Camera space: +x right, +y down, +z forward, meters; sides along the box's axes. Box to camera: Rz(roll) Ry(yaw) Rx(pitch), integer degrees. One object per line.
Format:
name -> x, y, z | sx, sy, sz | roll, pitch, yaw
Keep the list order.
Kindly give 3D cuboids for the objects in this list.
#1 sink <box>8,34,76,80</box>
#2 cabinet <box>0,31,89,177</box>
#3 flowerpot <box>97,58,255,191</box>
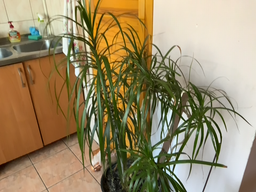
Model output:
sink -> -0.680, -0.330, 1.680 | 0.360, 0.210, 0.390 | -22, 34, -33
cabinet -> -0.870, 0.000, 1.770 | 0.800, 0.870, 0.600 | -22, 34, -33
flowerpot -> 0.210, 0.440, 0.810 | 0.400, 1.020, 0.450 | -19, 33, -30
